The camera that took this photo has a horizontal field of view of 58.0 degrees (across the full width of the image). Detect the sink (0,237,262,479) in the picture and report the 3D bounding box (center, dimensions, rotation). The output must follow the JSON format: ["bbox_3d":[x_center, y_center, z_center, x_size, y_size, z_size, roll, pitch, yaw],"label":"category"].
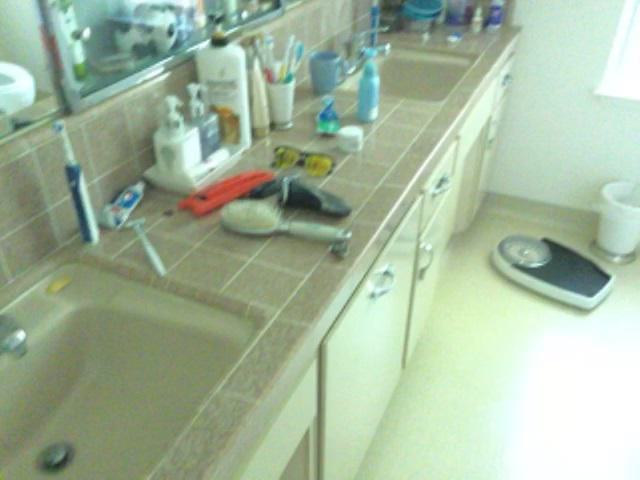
[{"bbox_3d":[-0.370,0.240,0.870,0.310,0.190,0.520,15,38,25],"label":"sink"}]
